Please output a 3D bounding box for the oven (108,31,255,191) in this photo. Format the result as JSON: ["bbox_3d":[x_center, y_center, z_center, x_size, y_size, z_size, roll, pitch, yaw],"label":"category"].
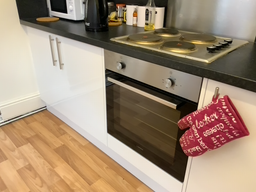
[{"bbox_3d":[0.300,0.130,1.380,0.590,0.920,0.600,24,35,36],"label":"oven"}]

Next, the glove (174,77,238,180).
[{"bbox_3d":[0.300,0.140,0.870,0.170,0.410,0.040,24,35,36],"label":"glove"}]
